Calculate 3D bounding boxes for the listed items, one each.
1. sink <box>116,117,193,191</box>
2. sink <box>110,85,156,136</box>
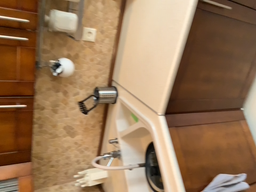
[{"bbox_3d":[0.130,0.390,1.260,0.400,0.170,0.420,-36,60,53],"label":"sink"},{"bbox_3d":[0.020,0.100,1.390,0.290,0.120,0.250,-36,60,53],"label":"sink"}]
